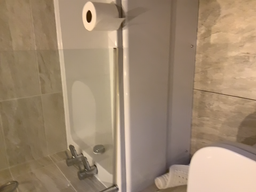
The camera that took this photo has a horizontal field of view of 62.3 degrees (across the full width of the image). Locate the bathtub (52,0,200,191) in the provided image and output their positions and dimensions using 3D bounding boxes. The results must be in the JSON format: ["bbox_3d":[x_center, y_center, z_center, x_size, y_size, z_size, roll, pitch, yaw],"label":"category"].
[{"bbox_3d":[-0.050,-0.300,1.270,0.710,0.520,1.450,18,114,51],"label":"bathtub"}]
